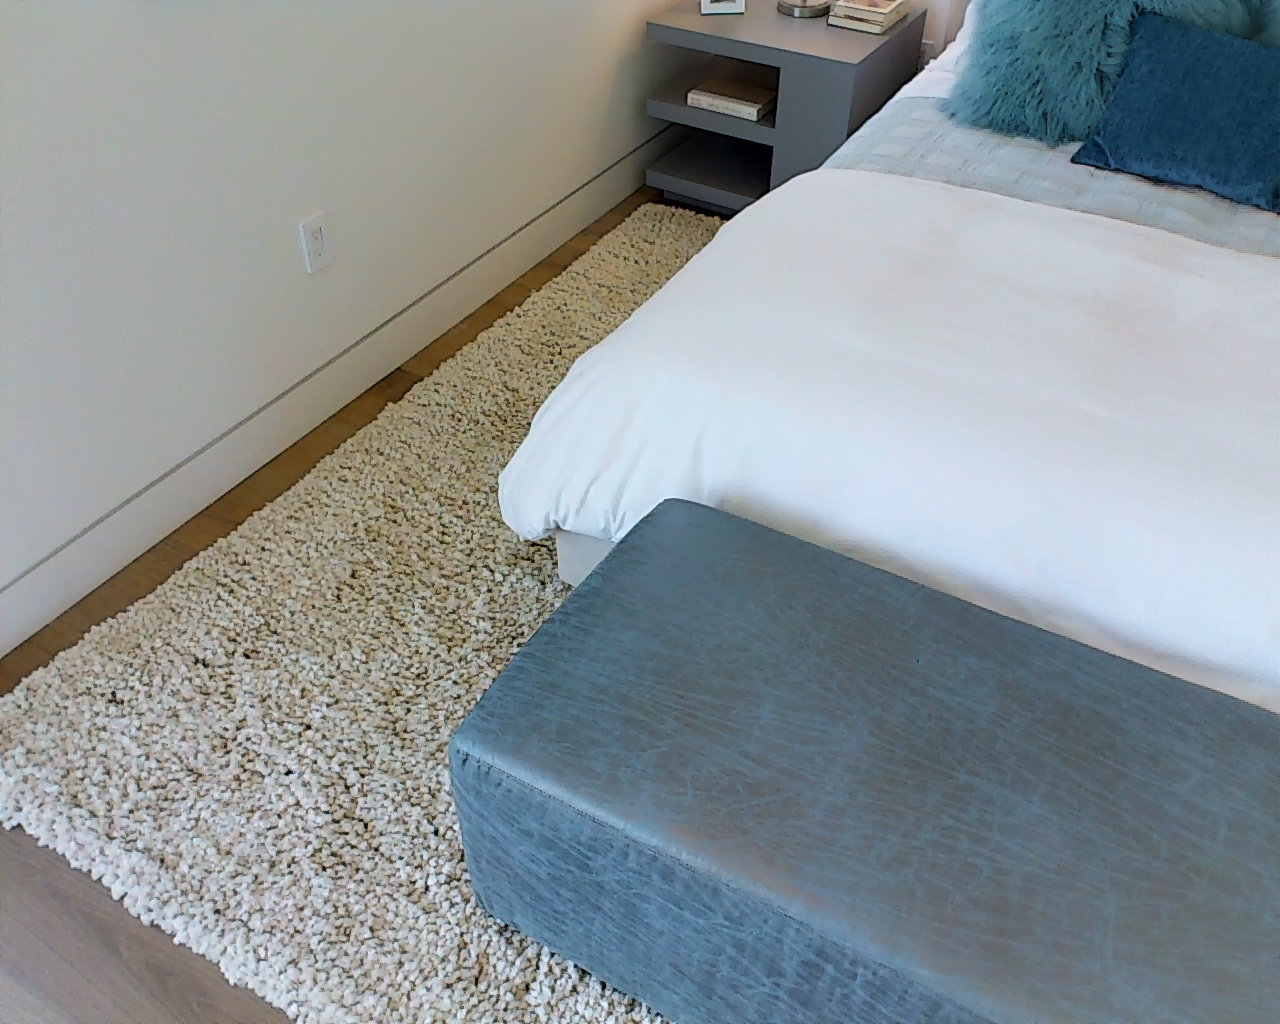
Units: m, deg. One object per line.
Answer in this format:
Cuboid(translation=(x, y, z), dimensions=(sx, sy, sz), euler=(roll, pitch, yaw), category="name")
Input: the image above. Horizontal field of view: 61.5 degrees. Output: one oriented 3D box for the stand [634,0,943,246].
Cuboid(translation=(0.460, -1.330, 3.420), dimensions=(0.720, 0.570, 0.650), euler=(22, 46, 21), category="stand")
